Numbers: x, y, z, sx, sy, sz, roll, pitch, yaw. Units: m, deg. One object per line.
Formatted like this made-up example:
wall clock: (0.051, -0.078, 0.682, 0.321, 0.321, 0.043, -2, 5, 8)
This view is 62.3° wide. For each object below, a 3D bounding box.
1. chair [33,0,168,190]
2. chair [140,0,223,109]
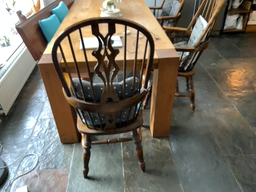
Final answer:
chair: (-0.140, -0.010, 1.420, 0.540, 1.130, 0.610, -6, 35, -7)
chair: (0.430, -0.510, 2.110, 0.580, 1.140, 0.600, 0, 35, 1)
